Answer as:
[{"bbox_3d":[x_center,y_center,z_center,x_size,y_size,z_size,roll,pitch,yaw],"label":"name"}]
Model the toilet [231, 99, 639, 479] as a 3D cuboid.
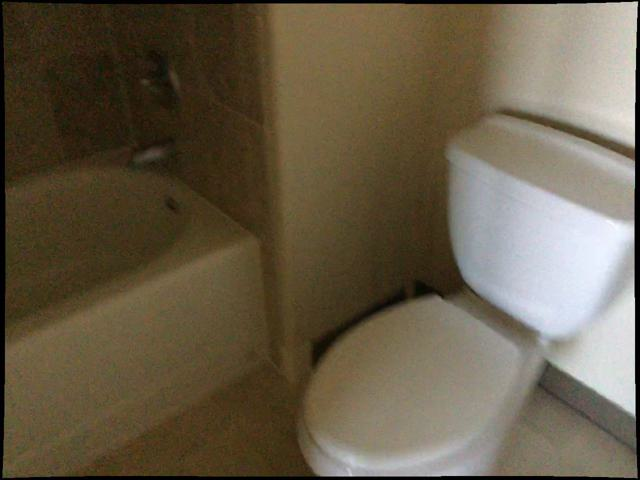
[{"bbox_3d":[0.290,0.230,1.260,0.760,0.791,0.460,-25,42,-31],"label":"toilet"}]
